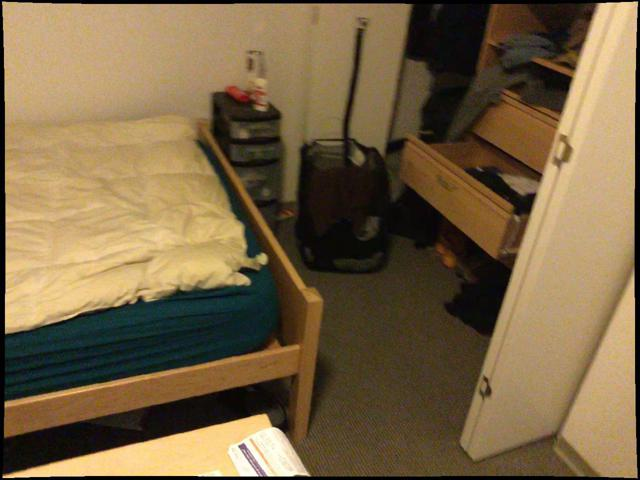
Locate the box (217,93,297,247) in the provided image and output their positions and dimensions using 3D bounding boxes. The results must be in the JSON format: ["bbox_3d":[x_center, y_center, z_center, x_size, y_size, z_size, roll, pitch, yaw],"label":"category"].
[{"bbox_3d":[-0.300,-0.320,2.600,0.230,0.570,0.370,-8,34,-23],"label":"box"}]

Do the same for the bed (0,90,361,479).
[{"bbox_3d":[-1.159,0.080,1.840,2.088,0.620,1.440,-8,34,-23],"label":"bed"}]
